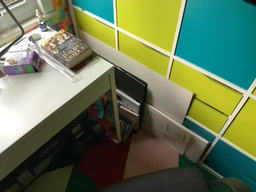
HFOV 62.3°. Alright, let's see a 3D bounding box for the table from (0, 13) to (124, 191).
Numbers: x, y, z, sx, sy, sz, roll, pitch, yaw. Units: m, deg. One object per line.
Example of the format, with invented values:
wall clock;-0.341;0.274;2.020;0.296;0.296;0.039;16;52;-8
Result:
table;-0.490;0.190;1.090;0.590;0.790;0.730;31;58;23
